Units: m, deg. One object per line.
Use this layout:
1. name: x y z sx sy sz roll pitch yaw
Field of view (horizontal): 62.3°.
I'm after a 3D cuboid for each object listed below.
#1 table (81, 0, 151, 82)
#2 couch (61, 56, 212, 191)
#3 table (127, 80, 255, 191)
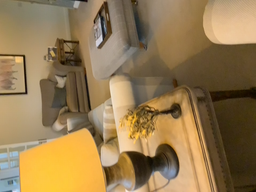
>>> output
1. table: -0.250 -0.770 2.890 1.220 0.380 0.790 -31 66 59
2. couch: -0.200 0.510 2.550 2.090 0.710 1.120 -33 64 58
3. table: 0.470 0.340 1.400 0.630 0.630 0.720 -30 66 59
